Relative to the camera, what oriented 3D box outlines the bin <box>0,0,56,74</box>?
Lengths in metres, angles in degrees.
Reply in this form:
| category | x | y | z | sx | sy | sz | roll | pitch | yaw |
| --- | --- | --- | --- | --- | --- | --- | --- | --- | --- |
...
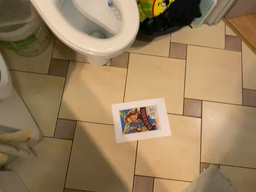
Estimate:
| category | x | y | z | sx | sy | sz | roll | pitch | yaw |
| --- | --- | --- | --- | --- | --- | --- | --- | --- | --- |
| bin | -0.590 | -0.340 | 1.080 | 0.250 | 0.320 | 0.270 | -34 | 80 | -11 |
